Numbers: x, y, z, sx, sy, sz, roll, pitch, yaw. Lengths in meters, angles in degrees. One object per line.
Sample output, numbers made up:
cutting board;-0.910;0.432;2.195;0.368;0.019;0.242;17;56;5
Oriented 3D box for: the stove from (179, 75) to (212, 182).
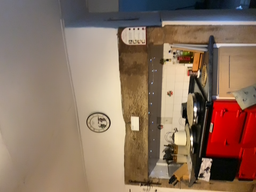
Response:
stove;0.780;0.380;2.580;0.700;0.140;1.080;-78;-13;-62
